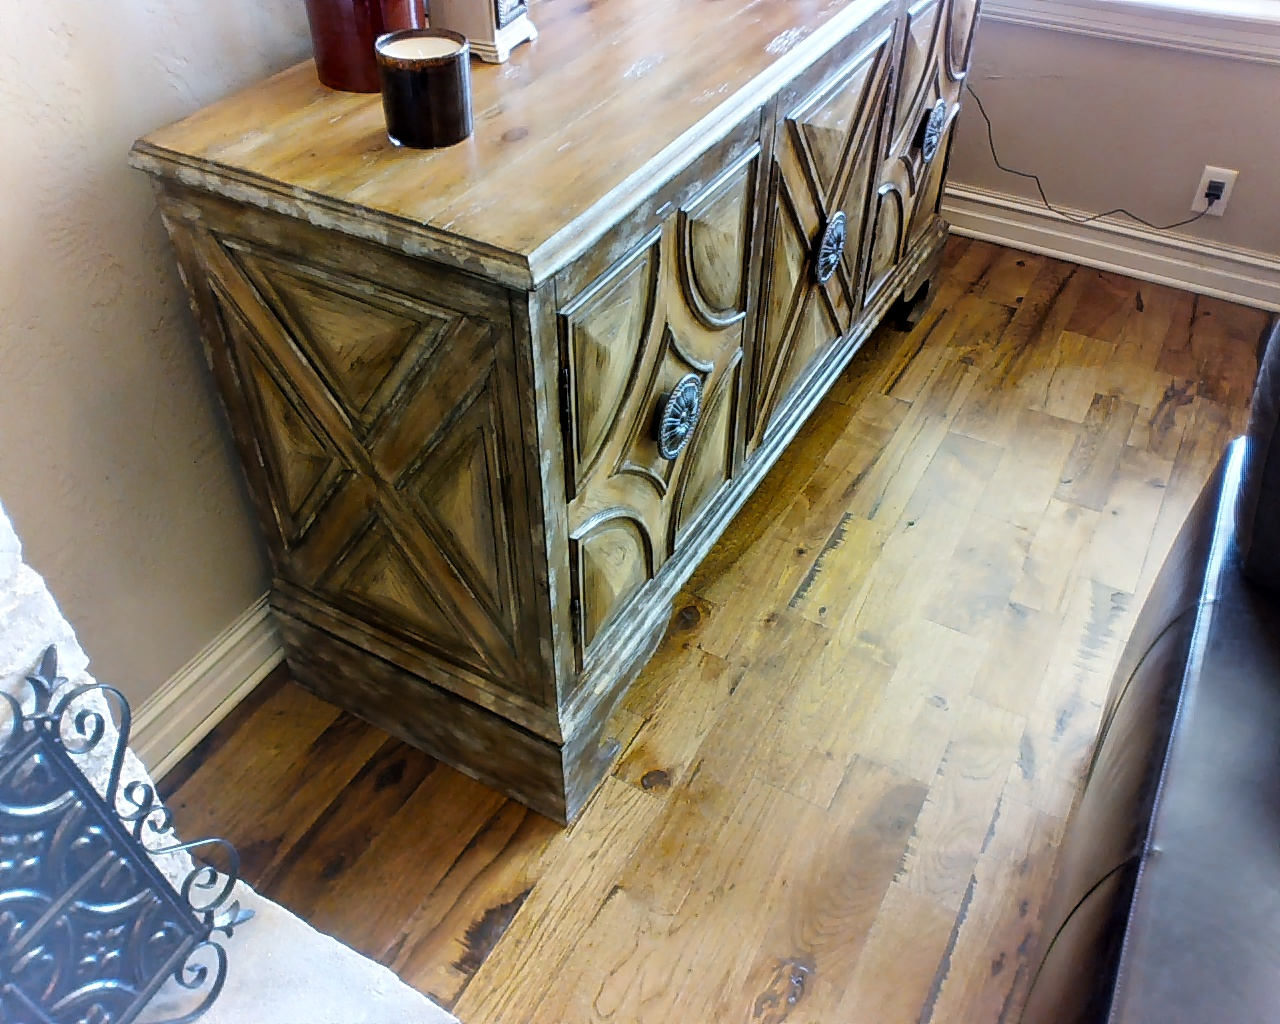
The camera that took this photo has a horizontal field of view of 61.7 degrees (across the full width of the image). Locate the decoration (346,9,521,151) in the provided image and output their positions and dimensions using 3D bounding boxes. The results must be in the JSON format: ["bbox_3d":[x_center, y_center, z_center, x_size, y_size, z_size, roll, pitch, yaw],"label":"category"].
[{"bbox_3d":[-0.230,-0.490,1.210,0.130,0.090,0.130,26,49,26],"label":"decoration"}]
